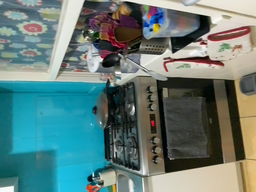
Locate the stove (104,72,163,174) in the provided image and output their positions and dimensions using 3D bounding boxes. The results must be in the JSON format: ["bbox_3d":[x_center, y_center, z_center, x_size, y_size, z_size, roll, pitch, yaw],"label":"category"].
[{"bbox_3d":[0.000,0.200,1.550,0.620,0.140,0.590,156,111,-65],"label":"stove"}]
